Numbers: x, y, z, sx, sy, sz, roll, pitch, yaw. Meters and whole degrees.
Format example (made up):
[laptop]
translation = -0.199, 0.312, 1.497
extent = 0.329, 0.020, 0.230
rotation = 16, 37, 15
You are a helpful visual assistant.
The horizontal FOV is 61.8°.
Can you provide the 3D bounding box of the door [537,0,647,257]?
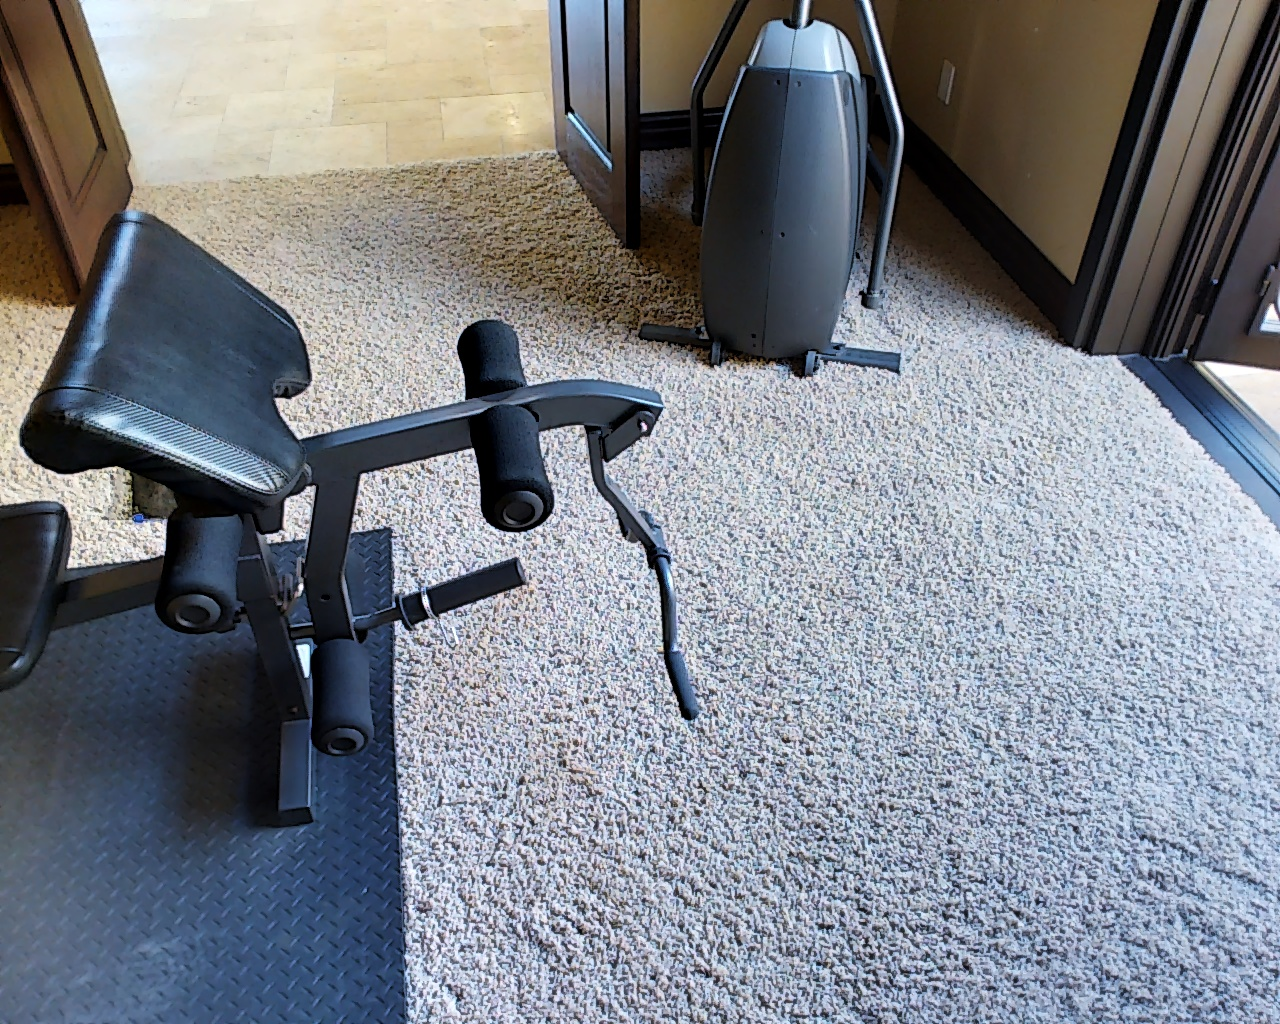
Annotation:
[door]
translation = -0.160, -1.939, 2.590
extent = 0.040, 2.489, 0.840
rotation = -15, 43, -16
